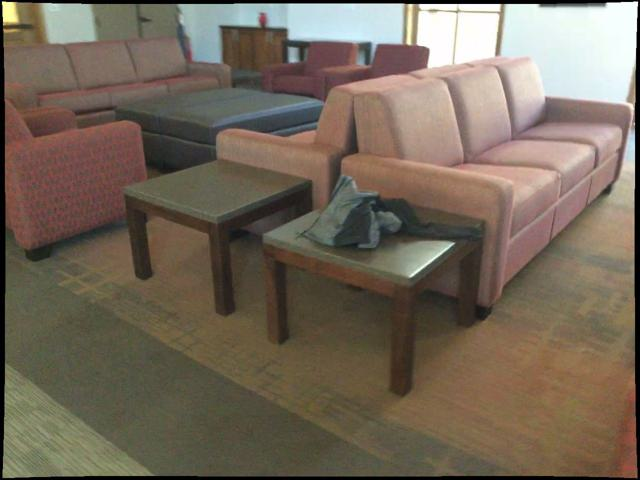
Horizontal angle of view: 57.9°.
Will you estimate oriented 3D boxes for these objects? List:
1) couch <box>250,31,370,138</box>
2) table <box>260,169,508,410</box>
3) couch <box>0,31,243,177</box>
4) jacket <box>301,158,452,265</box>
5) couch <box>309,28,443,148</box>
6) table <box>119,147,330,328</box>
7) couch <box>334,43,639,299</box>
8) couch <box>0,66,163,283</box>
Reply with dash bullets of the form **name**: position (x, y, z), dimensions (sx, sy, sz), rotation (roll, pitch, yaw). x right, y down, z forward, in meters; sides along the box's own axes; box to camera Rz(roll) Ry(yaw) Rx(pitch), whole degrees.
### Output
- **couch**: position (-0.110, -1.602, 5.840), dimensions (0.900, 0.821, 0.750), rotation (21, 32, 33)
- **table**: position (0.230, 0.130, 2.200), dimensions (0.660, 0.520, 0.620), rotation (21, 32, 33)
- **couch**: position (-1.928, -1.411, 5.500), dimensions (0.890, 0.851, 2.419), rotation (21, 32, 33)
- **jacket**: position (0.200, -0.120, 2.060), dimensions (0.370, 0.180, 0.390), rotation (21, 32, 33)
- **couch**: position (0.499, -1.451, 5.390), dimensions (0.930, 0.861, 0.730), rotation (21, 32, 33)
- **table**: position (-0.430, -0.060, 2.720), dimensions (0.660, 0.490, 0.670), rotation (21, 32, 33)
- **couch**: position (1.069, -0.551, 3.080), dimensions (0.770, 0.781, 2.159), rotation (22, 30, 34)
- **couch**: position (-1.518, -0.430, 3.230), dimensions (0.870, 0.851, 0.810), rotation (21, 32, 34)
